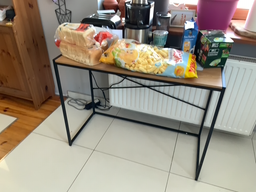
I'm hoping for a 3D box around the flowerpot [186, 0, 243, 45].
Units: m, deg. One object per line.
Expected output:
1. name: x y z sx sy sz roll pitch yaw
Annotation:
1. flowerpot: 0.590 -0.600 1.460 0.280 0.360 0.330 12 36 15
